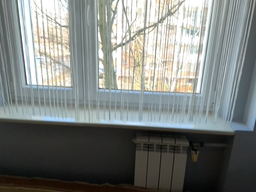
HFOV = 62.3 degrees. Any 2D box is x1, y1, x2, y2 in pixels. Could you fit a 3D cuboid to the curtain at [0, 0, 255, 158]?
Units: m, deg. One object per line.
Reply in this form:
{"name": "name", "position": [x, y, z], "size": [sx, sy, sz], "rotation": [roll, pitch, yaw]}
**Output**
{"name": "curtain", "position": [-0.140, -0.600, 1.030], "size": [1.620, 1.870, 0.140], "rotation": [4, 19, 3]}
